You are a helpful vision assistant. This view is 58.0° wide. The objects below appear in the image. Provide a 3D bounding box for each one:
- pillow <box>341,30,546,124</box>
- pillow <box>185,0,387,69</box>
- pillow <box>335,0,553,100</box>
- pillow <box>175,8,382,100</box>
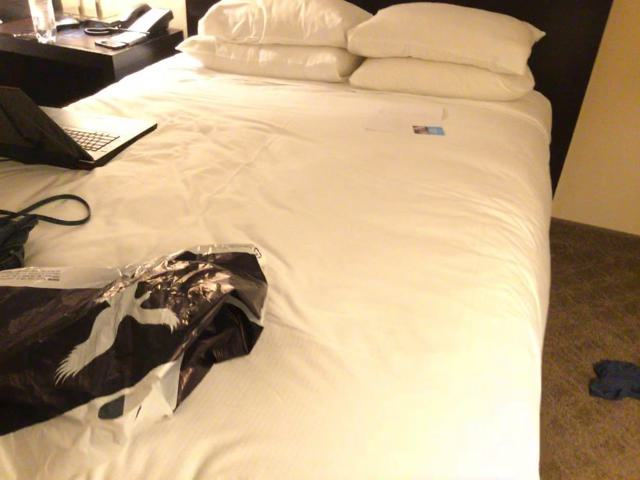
[{"bbox_3d":[0.400,-0.550,1.910,0.610,0.150,0.230,16,33,18],"label":"pillow"},{"bbox_3d":[-0.120,-0.820,2.140,0.630,0.180,0.380,16,33,18],"label":"pillow"},{"bbox_3d":[0.420,-0.680,1.950,0.620,0.200,0.390,16,33,18],"label":"pillow"},{"bbox_3d":[-0.150,-0.720,2.180,0.660,0.160,0.390,16,33,18],"label":"pillow"}]
